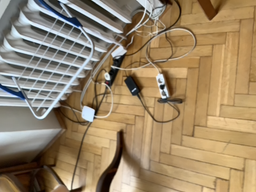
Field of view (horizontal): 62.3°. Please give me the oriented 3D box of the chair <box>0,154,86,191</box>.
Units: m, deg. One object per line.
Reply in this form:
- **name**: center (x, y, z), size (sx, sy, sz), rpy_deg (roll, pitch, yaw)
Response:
- **chair**: center (-0.790, 0.750, 1.470), size (0.500, 0.780, 0.400), rpy_deg (18, 95, 32)
